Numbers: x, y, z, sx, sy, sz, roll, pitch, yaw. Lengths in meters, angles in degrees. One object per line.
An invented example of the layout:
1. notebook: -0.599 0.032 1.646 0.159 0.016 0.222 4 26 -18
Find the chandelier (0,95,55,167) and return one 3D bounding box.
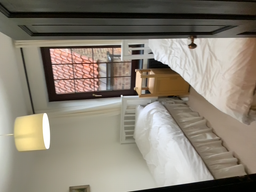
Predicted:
1. chandelier: -1.060 0.330 2.090 0.490 0.560 0.460 -108 -161 -51
